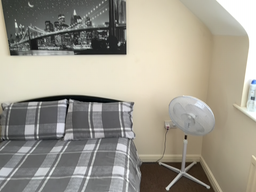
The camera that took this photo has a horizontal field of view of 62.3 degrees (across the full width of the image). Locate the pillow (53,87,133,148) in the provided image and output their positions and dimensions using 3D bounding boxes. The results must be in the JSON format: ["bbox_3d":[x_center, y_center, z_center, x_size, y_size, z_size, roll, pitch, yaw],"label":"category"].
[{"bbox_3d":[-0.330,0.230,2.120,0.650,0.420,0.180,-19,38,7],"label":"pillow"}]

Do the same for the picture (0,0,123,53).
[{"bbox_3d":[-0.630,-0.720,2.080,1.160,0.580,0.030,0,17,0],"label":"picture"}]

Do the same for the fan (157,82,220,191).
[{"bbox_3d":[0.610,0.420,2.150,0.460,1.000,0.500,8,19,25],"label":"fan"}]
